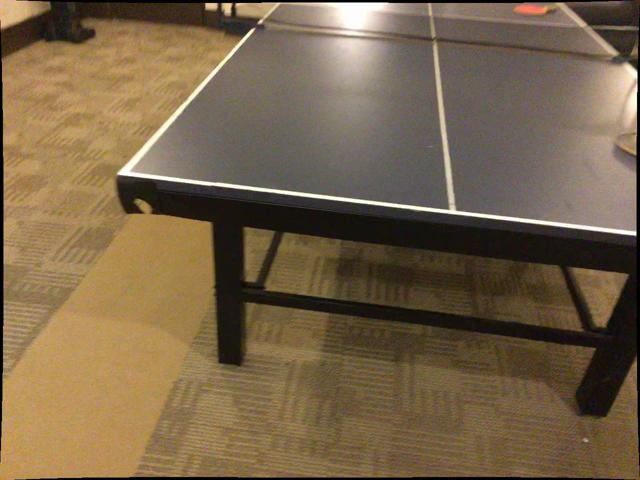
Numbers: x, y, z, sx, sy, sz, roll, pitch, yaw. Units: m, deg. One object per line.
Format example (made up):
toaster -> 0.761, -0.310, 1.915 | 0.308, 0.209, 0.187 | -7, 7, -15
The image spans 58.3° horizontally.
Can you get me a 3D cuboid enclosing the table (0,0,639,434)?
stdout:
table -> 0.480, -0.771, 2.540 | 1.848, 0.851, 3.131 | 6, 33, 4
